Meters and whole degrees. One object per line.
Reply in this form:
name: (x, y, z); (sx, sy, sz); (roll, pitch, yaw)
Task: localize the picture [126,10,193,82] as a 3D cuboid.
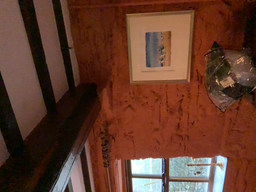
picture: (0.240, -0.370, 1.660); (0.040, 0.480, 0.540); (-79, -13, -65)
